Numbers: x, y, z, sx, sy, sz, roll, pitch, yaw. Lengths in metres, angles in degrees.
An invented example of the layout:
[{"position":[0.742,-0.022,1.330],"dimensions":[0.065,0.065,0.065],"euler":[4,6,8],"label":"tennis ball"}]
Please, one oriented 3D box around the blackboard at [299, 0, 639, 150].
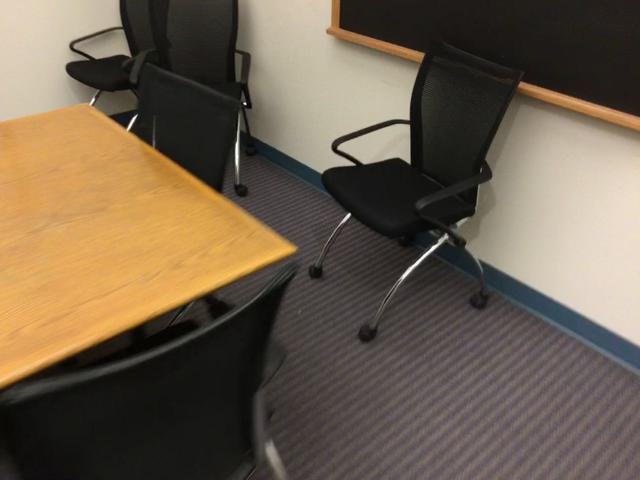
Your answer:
[{"position":[0.500,-0.810,1.960],"dimensions":[0.120,0.590,1.620],"euler":[-26,42,-35],"label":"blackboard"}]
